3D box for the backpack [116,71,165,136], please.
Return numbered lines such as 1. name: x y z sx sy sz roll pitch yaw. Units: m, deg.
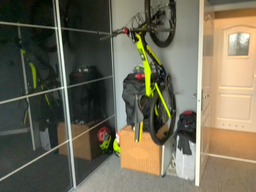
1. backpack: 0.170 0.070 2.820 0.560 0.760 0.300 5 14 28
